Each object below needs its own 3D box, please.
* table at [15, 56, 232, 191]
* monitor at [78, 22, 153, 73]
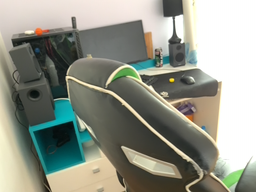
[{"bbox_3d":[0.000,0.240,1.730,1.410,0.750,0.610,-14,27,-14],"label":"table"},{"bbox_3d":[-0.100,-0.370,1.720,0.580,0.380,0.030,-1,29,-21],"label":"monitor"}]
